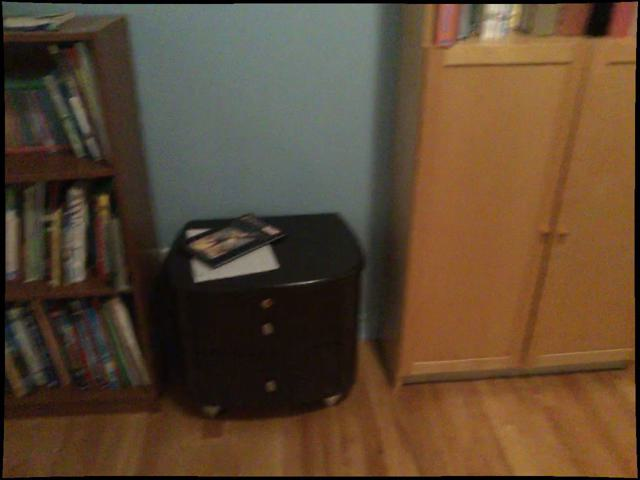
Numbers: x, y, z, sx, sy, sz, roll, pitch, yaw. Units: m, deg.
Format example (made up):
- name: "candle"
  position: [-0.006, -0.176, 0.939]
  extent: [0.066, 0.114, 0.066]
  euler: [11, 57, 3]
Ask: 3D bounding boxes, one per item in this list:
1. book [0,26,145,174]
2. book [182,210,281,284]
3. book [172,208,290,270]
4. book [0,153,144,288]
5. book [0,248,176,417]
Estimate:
- name: "book"
  position: [-0.849, -0.350, 1.440]
  extent: [0.719, 0.290, 0.280]
  euler: [-3, 29, -4]
- name: "book"
  position: [-0.260, 0.010, 1.640]
  extent: [0.230, 0.020, 0.330]
  euler: [-8, 30, -14]
- name: "book"
  position: [-0.250, -0.010, 1.650]
  extent: [0.180, 0.020, 0.280]
  euler: [24, 37, 36]
- name: "book"
  position: [-0.859, -0.050, 1.570]
  extent: [0.669, 0.290, 0.210]
  euler: [-3, 29, -4]
- name: "book"
  position: [-0.839, 0.280, 1.750]
  extent: [0.709, 0.390, 0.280]
  euler: [-3, 29, -4]
